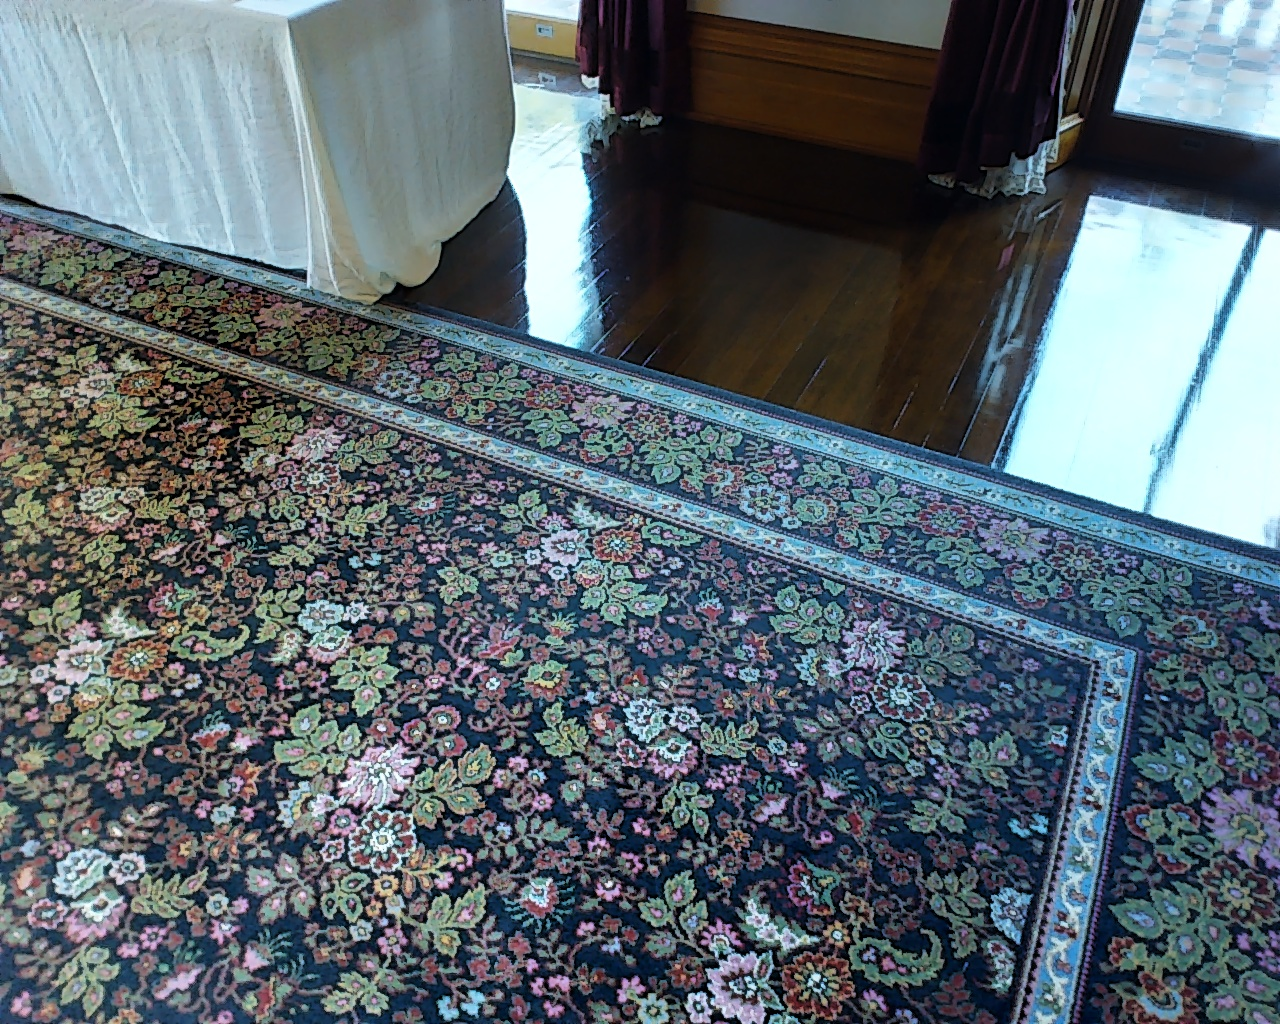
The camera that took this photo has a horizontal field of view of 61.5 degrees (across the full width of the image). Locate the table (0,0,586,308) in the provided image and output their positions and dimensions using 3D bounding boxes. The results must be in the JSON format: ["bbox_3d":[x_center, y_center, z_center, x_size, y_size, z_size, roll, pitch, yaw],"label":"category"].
[{"bbox_3d":[-1.320,-1.510,3.450,1.930,0.790,1.180,19,46,20],"label":"table"}]
